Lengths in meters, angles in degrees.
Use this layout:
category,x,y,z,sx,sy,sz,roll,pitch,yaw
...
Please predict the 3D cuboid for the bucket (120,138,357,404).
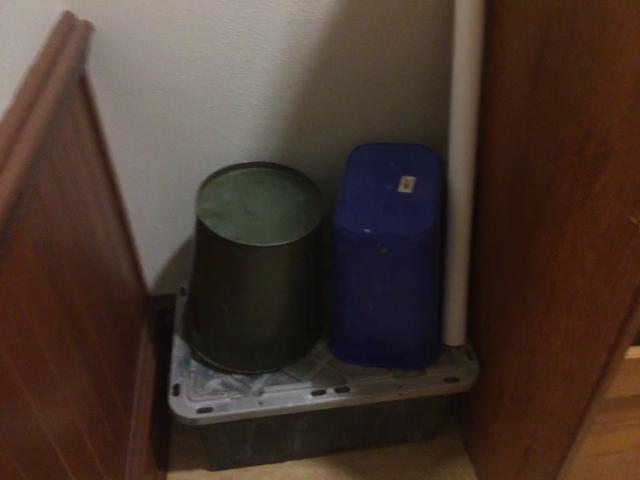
category,x,y,z,sx,sy,sz,roll,pitch,yaw
bucket,-0.150,0.060,1.250,0.400,0.400,0.350,-7,37,-3
